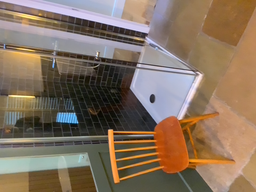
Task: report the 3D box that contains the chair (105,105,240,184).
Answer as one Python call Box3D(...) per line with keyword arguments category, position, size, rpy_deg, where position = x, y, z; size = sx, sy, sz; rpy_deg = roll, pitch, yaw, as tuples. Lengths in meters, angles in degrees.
Box3D(category="chair", position=(0.310, 0.390, 1.680), size=(0.560, 0.800, 0.430), rpy_deg=(-43, 50, 54))
